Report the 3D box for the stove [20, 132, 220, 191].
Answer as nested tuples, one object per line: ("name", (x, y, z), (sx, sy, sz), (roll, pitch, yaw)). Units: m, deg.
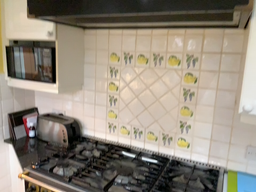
("stove", (-0.030, 0.530, 1.340), (1.090, 0.220, 0.600), (8, 12, 24))
